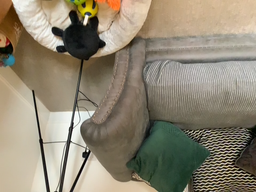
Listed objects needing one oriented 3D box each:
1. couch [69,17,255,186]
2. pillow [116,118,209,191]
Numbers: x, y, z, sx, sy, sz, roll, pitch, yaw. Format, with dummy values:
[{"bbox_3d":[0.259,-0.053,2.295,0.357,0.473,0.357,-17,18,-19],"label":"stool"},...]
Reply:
[{"bbox_3d":[0.640,0.150,1.520,1.680,0.750,1.100,-2,149,6],"label":"couch"},{"bbox_3d":[0.210,0.410,1.410,0.520,0.440,0.250,-3,149,7],"label":"pillow"}]
